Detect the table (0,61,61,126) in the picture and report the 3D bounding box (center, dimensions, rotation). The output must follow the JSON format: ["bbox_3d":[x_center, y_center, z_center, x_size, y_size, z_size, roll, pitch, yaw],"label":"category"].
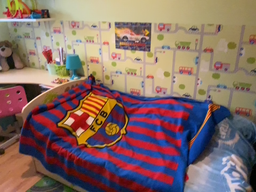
[{"bbox_3d":[-1.320,-0.050,2.860,0.570,0.730,0.470,2,23,5],"label":"table"}]
